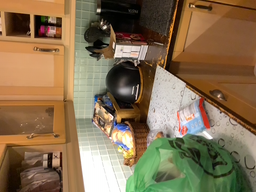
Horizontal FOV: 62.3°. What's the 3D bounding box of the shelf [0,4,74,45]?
[{"bbox_3d":[-0.720,-0.410,1.140,0.310,0.810,0.150,-126,40,-61],"label":"shelf"}]
